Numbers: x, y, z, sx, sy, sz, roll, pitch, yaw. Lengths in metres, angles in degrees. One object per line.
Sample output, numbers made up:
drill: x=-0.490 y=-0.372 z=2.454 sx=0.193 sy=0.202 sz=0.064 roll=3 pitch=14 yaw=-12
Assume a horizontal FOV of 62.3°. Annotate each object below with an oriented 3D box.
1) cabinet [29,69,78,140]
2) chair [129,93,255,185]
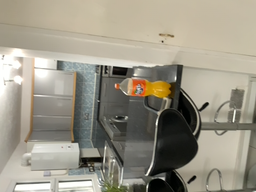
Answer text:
cabinet: x=-1.490 y=0.170 z=4.280 sx=0.340 sy=0.830 sz=1.350 roll=-153 pitch=67 yaw=-72
chair: x=0.610 y=0.240 z=1.400 sx=0.430 sy=1.100 sz=0.420 roll=-158 pitch=72 yaw=-73
